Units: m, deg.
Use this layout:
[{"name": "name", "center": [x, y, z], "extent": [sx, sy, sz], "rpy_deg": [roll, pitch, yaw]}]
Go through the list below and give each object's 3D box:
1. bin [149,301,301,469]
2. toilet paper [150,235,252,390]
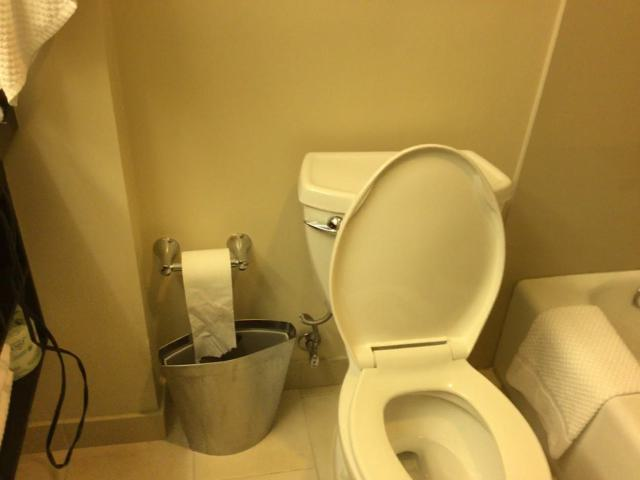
[{"name": "bin", "center": [-0.230, 0.360, 1.440], "extent": [0.330, 0.340, 0.190], "rpy_deg": [-4, 33, -10]}, {"name": "toilet paper", "center": [-0.270, 0.170, 1.350], "extent": [0.200, 0.320, 0.150], "rpy_deg": [-4, 33, -10]}]
